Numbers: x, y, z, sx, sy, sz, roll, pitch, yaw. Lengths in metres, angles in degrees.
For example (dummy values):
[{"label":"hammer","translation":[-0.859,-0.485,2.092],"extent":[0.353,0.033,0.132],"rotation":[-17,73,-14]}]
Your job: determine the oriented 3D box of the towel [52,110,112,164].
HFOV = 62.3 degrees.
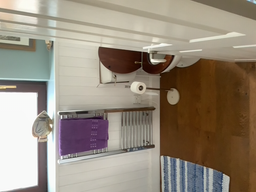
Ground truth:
[{"label":"towel","translation":[-0.400,0.350,1.900],"extent":[0.150,0.450,0.320],"rotation":[0,104,55]}]
